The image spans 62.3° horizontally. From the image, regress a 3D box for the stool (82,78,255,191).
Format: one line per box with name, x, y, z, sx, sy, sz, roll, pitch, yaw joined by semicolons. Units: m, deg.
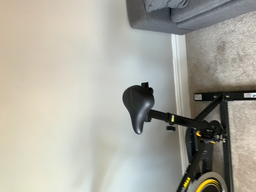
stool;0.350;0.530;1.410;0.640;1.030;1.210;-4;91;56
